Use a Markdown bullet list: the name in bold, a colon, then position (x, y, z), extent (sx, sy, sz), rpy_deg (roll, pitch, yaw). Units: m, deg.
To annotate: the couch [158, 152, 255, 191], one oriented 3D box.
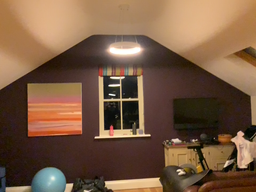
- **couch**: position (1.610, 1.360, 3.040), extent (2.130, 0.800, 1.130), rpy_deg (-1, -1, -5)
